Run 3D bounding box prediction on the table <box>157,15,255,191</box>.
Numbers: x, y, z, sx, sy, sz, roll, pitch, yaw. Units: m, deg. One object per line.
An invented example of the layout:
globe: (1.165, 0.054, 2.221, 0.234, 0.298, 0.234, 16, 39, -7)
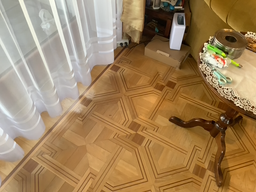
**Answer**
table: (0.590, 0.070, 1.180, 0.530, 0.670, 0.550, -34, 61, -24)
